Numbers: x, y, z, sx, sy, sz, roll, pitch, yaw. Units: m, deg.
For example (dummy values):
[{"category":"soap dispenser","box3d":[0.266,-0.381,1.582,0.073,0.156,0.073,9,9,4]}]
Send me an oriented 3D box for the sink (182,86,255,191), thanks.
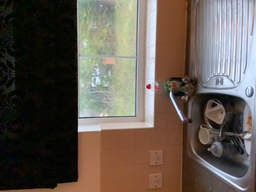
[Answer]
[{"category":"sink","box3d":[0.480,0.160,1.030,0.510,0.190,0.400,-163,73,-76]}]
